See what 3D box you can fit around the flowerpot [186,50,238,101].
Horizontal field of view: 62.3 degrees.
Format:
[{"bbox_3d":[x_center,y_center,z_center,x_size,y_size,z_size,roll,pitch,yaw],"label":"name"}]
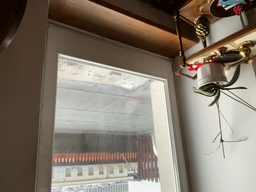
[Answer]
[{"bbox_3d":[0.570,-0.130,1.460,0.180,0.250,0.240,11,158,-37],"label":"flowerpot"}]
